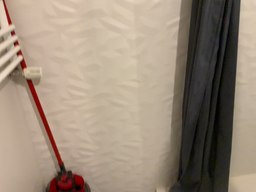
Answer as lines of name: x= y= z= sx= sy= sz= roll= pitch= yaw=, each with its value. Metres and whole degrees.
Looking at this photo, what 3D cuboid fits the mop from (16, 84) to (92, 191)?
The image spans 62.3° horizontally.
mop: x=-0.340 y=0.380 z=1.140 sx=0.240 sy=0.870 sz=0.170 roll=-7 pitch=28 yaw=-11
